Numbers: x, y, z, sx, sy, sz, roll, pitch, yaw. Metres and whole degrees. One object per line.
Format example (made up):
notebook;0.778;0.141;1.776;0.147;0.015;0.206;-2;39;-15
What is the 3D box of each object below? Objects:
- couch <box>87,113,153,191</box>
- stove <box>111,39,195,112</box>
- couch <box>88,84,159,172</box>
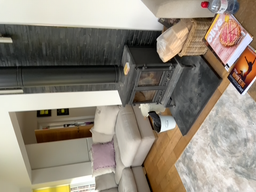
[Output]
couch;-0.100;1.950;3.870;1.200;0.790;3.160;107;153;-45
stove;0.240;-0.240;2.520;0.650;0.710;0.510;107;153;-45
couch;-0.170;0.530;3.750;0.860;0.830;1.190;107;153;-45
